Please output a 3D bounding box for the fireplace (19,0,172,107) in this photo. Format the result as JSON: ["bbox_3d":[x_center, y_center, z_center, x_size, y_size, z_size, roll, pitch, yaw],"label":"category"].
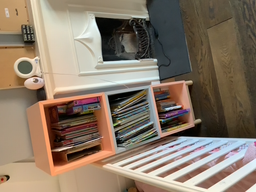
[{"bbox_3d":[-0.210,-0.470,1.650,0.260,1.040,0.930,-14,86,55],"label":"fireplace"}]
